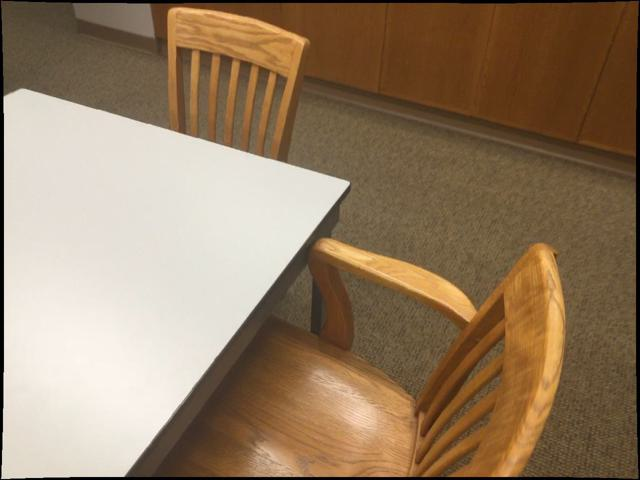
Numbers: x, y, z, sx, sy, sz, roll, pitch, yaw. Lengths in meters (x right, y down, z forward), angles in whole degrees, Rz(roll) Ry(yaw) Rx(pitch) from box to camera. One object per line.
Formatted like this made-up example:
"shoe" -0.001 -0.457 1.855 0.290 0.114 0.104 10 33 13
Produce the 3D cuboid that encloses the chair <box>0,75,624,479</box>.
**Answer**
"chair" 0.010 0.321 1.030 0.619 0.871 0.680 22 41 14

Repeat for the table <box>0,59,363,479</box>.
"table" -0.529 0.261 1.230 0.878 0.751 0.980 19 45 17
